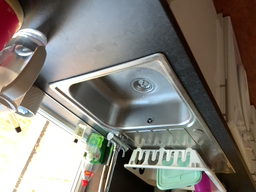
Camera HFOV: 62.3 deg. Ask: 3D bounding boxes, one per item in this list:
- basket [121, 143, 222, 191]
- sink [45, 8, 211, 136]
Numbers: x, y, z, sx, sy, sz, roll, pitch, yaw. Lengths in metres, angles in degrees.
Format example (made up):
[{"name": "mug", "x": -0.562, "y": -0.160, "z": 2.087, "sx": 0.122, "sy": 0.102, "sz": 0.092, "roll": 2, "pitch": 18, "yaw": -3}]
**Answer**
[{"name": "basket", "x": 0.250, "y": 0.430, "z": 1.160, "sx": 0.400, "sy": 0.180, "sz": 0.390, "roll": -12, "pitch": 139, "yaw": 35}, {"name": "sink", "x": 0.020, "y": -0.030, "z": 0.890, "sx": 0.510, "sy": 0.190, "sz": 0.450, "roll": -10, "pitch": 140, "yaw": 34}]
